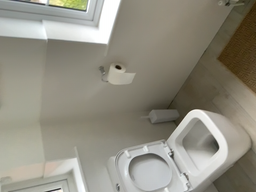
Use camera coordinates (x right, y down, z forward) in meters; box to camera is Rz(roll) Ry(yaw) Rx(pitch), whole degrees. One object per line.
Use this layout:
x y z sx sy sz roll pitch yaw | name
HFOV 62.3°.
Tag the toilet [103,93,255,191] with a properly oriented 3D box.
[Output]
0.360 0.350 1.380 0.410 0.820 0.610 63 142 36 | toilet
